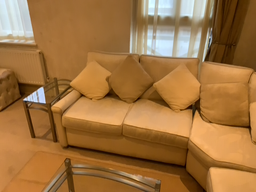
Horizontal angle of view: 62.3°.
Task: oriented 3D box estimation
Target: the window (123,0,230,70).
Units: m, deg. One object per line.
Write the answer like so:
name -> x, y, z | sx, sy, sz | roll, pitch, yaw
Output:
window -> 0.510, -1.250, 2.220 | 1.110, 1.940, 0.150 | 5, 28, 8
